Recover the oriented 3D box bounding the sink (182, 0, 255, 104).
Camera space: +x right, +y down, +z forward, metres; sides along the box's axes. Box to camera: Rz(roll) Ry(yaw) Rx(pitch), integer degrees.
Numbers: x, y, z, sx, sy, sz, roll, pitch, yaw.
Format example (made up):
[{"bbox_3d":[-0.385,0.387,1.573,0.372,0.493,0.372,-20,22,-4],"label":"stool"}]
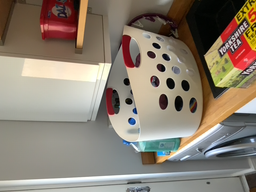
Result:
[{"bbox_3d":[0.440,-0.300,0.840,0.440,0.140,0.510,119,149,-55],"label":"sink"}]
